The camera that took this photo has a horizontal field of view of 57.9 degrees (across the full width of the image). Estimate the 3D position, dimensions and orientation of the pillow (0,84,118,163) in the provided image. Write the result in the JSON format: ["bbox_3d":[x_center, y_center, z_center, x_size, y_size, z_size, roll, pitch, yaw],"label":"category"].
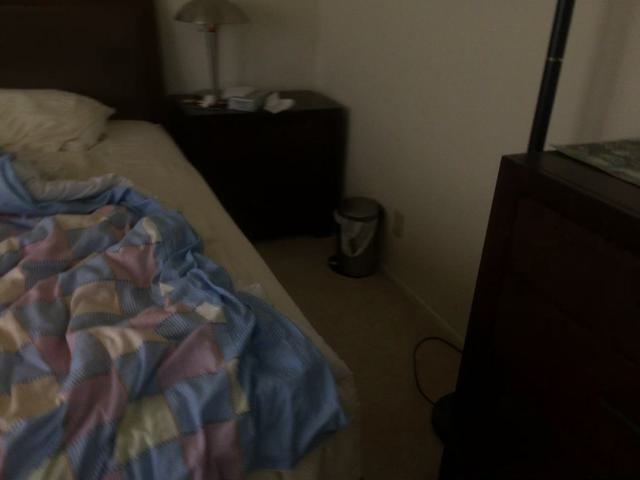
[{"bbox_3d":[-1.060,-0.420,2.040,0.610,0.170,0.430,-5,26,-23],"label":"pillow"}]

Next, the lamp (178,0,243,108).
[{"bbox_3d":[-0.480,-0.810,2.480,0.190,0.410,0.330,-5,26,-24],"label":"lamp"}]

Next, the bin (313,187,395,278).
[{"bbox_3d":[0.140,-0.040,2.510,0.220,0.300,0.270,-5,26,-24],"label":"bin"}]
